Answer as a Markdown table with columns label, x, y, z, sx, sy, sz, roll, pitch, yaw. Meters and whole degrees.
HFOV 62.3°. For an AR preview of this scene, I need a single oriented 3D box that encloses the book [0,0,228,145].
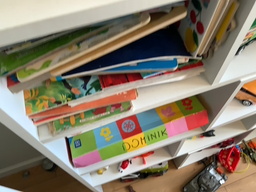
| label | x | y | z | sx | sy | sz | roll | pitch | yaw |
| --- | --- | --- | --- | --- | --- | --- | --- | --- | --- |
| book | -0.050 | -0.110 | 0.450 | 0.350 | 0.170 | 0.270 | -20 | 60 | -10 |
